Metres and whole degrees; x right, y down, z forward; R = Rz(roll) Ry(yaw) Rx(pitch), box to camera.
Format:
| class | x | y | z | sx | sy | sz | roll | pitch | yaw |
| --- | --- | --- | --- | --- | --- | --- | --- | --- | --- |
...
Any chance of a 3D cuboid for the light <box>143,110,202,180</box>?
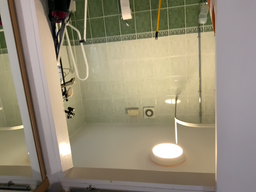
| class | x | y | z | sx | sy | sz | roll | pitch | yaw |
| --- | --- | --- | --- | --- | --- | --- | --- | --- | --- |
| light | 0.380 | 0.410 | 1.930 | 0.380 | 0.400 | 0.520 | -6 | -168 | -4 |
